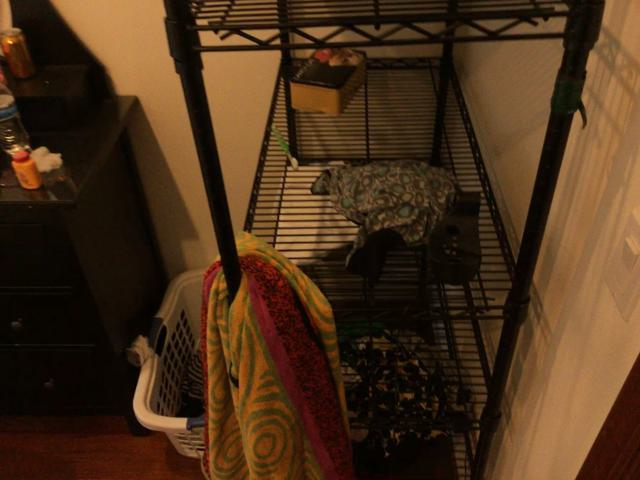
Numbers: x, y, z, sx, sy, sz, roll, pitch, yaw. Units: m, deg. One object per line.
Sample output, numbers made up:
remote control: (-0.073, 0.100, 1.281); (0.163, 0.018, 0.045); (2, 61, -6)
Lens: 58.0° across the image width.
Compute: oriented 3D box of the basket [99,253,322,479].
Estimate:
basket: (-0.280, 0.400, 1.840); (0.560, 0.360, 0.650); (-2, 40, 1)

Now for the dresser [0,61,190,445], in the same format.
dresser: (-1.030, 0.090, 1.680); (1.040, 1.010, 0.510); (-2, 40, 1)

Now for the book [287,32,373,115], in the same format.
book: (0.030, -0.400, 1.370); (0.130, 0.090, 0.240); (11, 42, 17)
